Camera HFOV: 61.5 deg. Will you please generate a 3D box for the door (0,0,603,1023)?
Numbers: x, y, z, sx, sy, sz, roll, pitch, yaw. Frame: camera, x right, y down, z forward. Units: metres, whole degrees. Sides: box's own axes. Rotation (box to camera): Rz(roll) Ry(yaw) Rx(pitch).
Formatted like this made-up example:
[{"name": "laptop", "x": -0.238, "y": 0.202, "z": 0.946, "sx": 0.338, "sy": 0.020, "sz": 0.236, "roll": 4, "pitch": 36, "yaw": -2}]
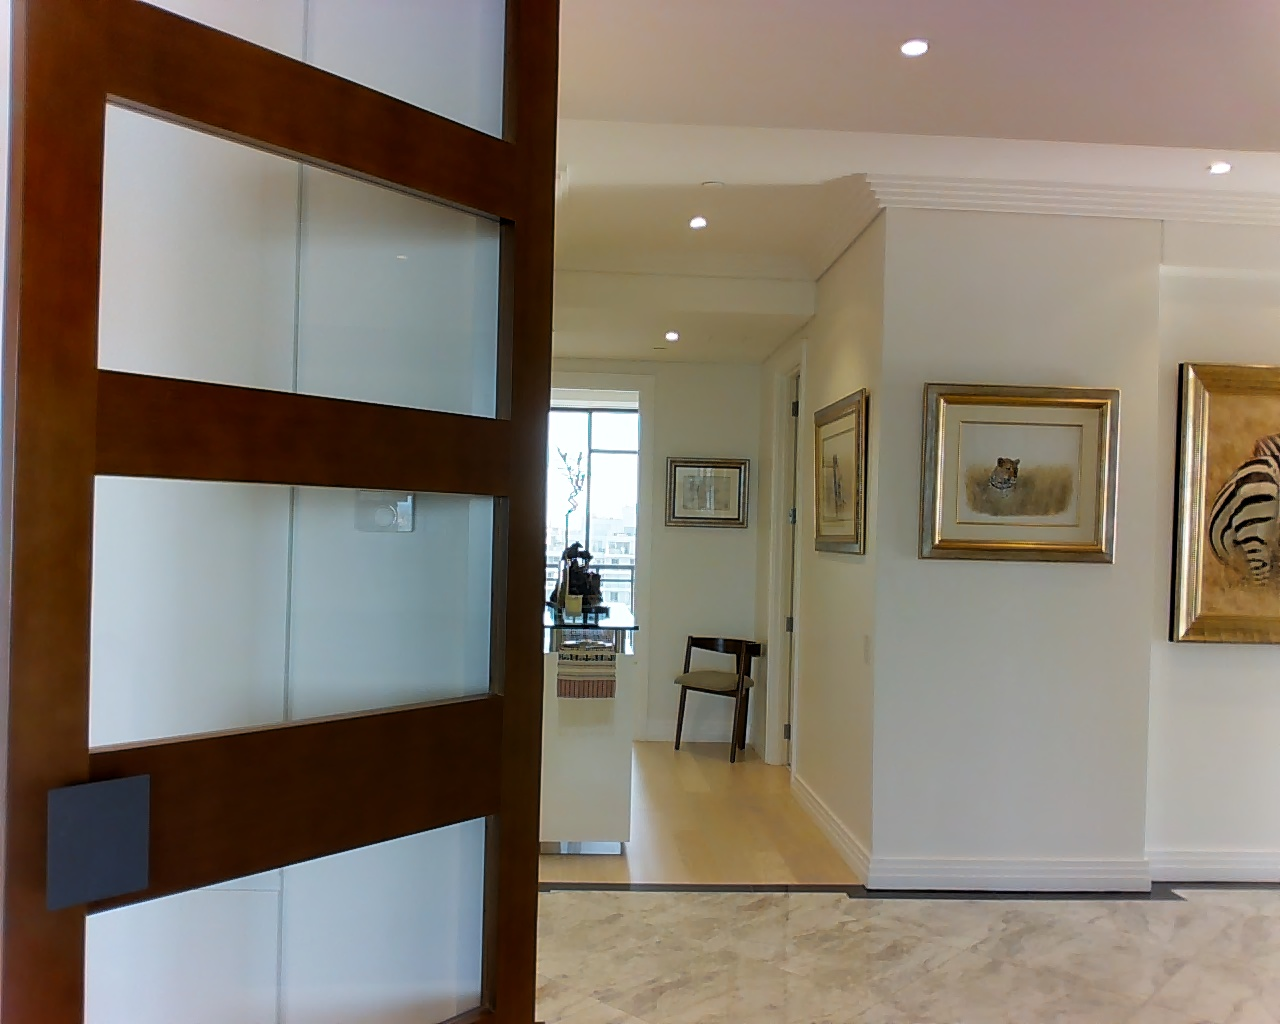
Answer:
[{"name": "door", "x": -0.410, "y": 0.100, "z": 1.480, "sx": 0.120, "sy": 2.521, "sz": 0.870, "roll": 1, "pitch": 0, "yaw": 41}]
